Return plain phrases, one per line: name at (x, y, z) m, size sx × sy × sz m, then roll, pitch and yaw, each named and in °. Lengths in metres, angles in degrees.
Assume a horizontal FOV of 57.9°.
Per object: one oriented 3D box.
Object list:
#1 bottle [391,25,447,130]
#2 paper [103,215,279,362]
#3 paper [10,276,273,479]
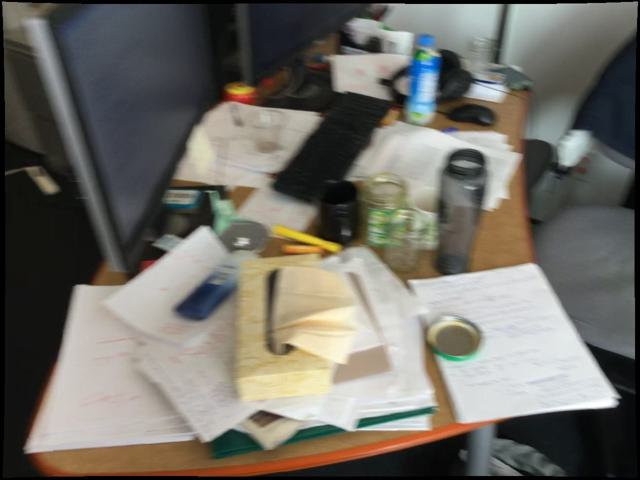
bottle at (0.230, -0.380, 1.360) m, size 0.090 × 0.210 × 0.080 m, roll 23°, pitch 48°, yaw 27°
paper at (-0.210, 0.070, 0.970) m, size 0.180 × 0.060 × 0.220 m, roll 23°, pitch 48°, yaw 27°
paper at (-0.250, 0.210, 0.840) m, size 0.320 × 0.040 × 0.340 m, roll -9°, pitch 41°, yaw -6°
